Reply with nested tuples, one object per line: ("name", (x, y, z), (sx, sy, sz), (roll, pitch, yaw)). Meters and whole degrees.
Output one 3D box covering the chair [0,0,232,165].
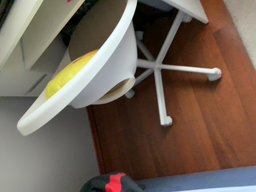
("chair", (-0.080, -0.130, 0.950), (0.600, 0.800, 0.620), (-26, 72, 41))
